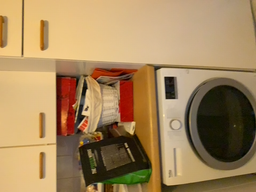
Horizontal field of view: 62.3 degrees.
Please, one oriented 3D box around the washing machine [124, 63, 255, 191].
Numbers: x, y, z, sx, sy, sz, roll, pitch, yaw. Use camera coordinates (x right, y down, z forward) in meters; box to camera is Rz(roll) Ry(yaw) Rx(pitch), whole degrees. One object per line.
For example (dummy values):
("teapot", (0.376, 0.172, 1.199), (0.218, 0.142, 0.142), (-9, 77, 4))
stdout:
("washing machine", (0.490, 0.180, 1.450), (0.640, 0.850, 0.610), (162, 108, -69))
